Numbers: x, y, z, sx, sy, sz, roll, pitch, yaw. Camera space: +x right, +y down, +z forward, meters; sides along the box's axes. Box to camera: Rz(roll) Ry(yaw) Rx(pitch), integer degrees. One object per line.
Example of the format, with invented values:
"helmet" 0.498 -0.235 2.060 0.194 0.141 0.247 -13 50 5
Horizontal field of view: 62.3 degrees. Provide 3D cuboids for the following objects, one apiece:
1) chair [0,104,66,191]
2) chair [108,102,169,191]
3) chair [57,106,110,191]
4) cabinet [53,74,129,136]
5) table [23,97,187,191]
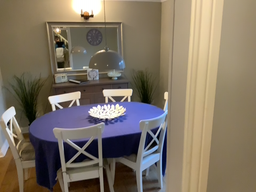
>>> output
"chair" -0.990 0.570 2.340 0.500 0.840 0.440 -5 16 -14
"chair" 0.110 0.560 2.270 0.460 0.860 0.410 14 21 42
"chair" -0.440 0.600 2.150 0.420 0.870 0.470 -5 16 -14
"cabinet" -0.650 0.120 3.840 1.260 0.900 0.480 -6 16 -18
"table" -0.290 0.570 2.550 1.530 0.710 1.130 -6 16 -17
